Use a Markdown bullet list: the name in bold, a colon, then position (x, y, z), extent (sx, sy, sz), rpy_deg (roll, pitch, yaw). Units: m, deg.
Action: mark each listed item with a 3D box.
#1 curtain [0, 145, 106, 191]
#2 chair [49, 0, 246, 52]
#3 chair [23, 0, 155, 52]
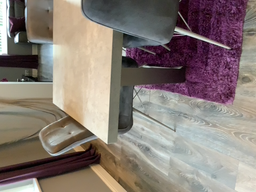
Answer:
- **curtain**: position (-1.360, 0.910, 2.280), extent (0.440, 2.300, 0.260), rpy_deg (10, 101, 56)
- **chair**: position (0.120, -0.500, 1.110), extent (0.510, 0.910, 0.440), rpy_deg (14, 104, 55)
- **chair**: position (-0.320, -0.630, 1.750), extent (0.510, 0.920, 0.430), rpy_deg (23, 111, 54)
